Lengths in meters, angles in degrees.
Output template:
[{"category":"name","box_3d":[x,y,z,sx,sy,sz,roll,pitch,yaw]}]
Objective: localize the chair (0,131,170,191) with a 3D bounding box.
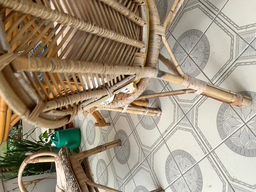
[{"category":"chair","box_3d":[-0.330,0.640,1.170,0.550,0.800,0.660,35,117,53]}]
